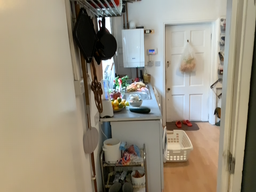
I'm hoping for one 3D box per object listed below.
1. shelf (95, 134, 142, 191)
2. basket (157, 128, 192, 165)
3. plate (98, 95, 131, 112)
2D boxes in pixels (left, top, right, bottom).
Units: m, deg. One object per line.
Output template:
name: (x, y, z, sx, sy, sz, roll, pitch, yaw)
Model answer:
shelf: (-0.070, 0.730, 2.000, 0.390, 0.680, 0.220, -2, 14, 2)
basket: (0.630, 0.690, 3.000, 0.380, 0.230, 0.630, -2, 14, 2)
plate: (-0.130, 0.070, 2.230, 0.320, 0.090, 0.290, -2, 14, 1)
